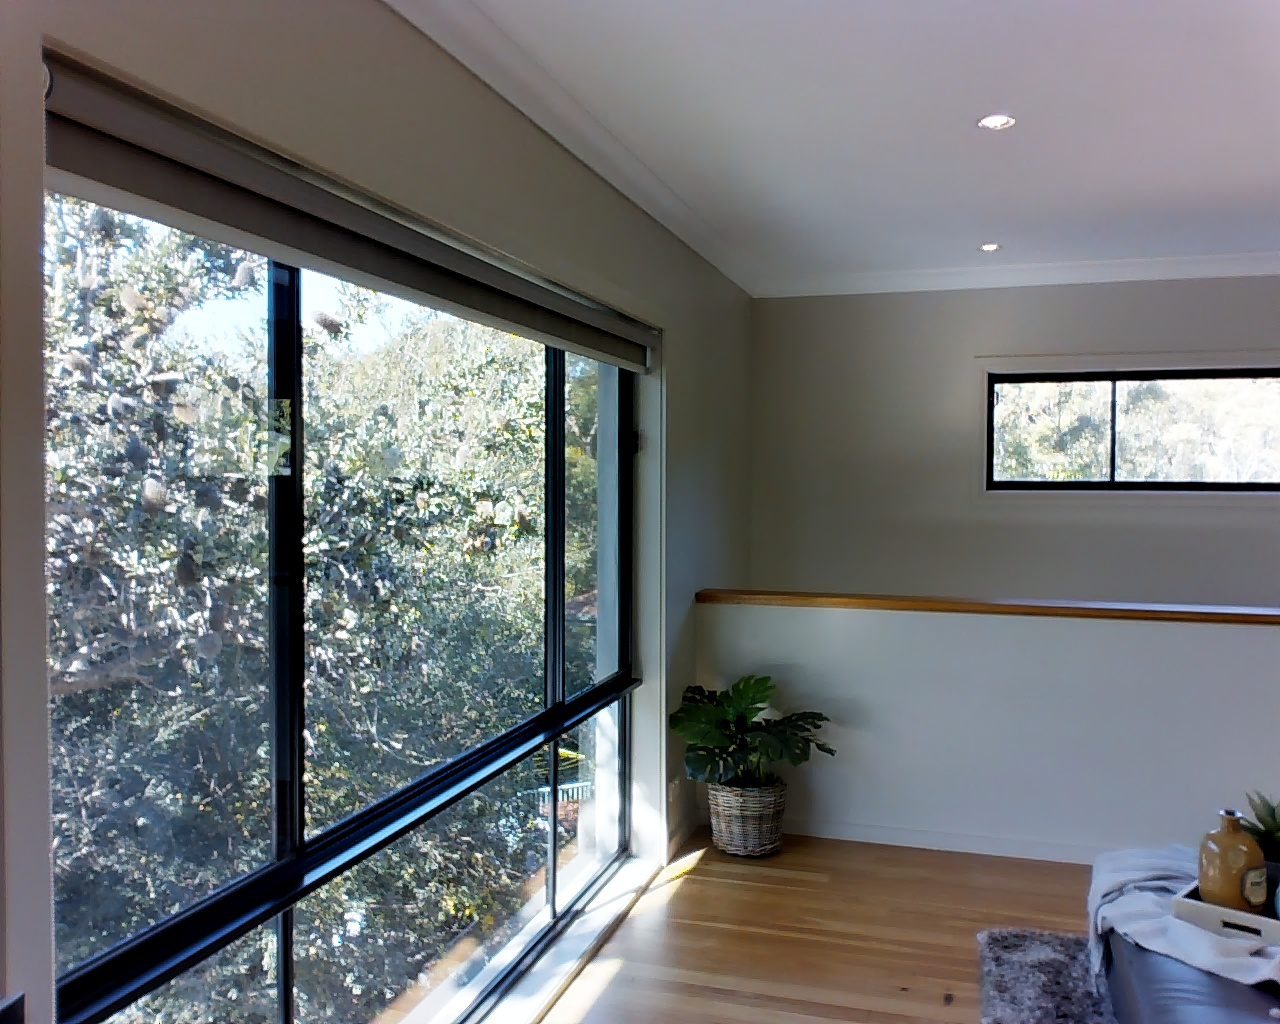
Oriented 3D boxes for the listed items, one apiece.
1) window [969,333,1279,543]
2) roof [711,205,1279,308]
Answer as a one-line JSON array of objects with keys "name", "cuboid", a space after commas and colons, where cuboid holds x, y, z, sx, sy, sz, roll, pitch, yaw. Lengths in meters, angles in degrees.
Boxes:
[{"name": "window", "cuboid": [2.939, -0.350, 5.210, 2.539, 0.980, 0.380, 1, 2, 17]}, {"name": "roof", "cuboid": [2.689, -1.120, 4.550, 4.649, 0.130, 1.050, 1, 2, 17]}]
